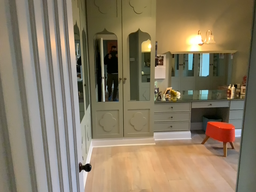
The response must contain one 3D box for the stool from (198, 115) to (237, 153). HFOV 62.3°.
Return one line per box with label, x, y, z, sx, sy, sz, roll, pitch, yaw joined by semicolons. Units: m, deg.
stool;1.440;0.590;3.430;0.310;0.430;0.450;-11;16;-37
